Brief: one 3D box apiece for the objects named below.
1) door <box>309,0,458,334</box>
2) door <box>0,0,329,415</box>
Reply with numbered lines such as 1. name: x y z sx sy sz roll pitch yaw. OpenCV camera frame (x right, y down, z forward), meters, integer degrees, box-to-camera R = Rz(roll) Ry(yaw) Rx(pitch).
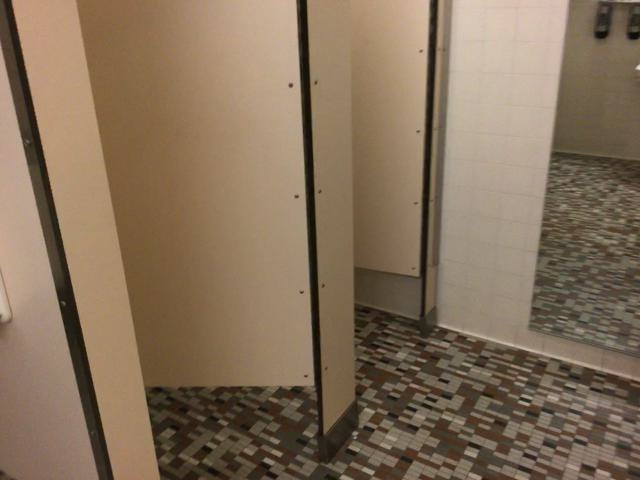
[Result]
1. door: 0.260 -0.300 2.250 0.470 1.300 0.220 10 26 31
2. door: -0.340 -0.040 1.500 0.650 1.130 0.100 -2 22 5
